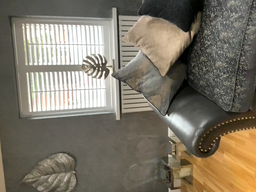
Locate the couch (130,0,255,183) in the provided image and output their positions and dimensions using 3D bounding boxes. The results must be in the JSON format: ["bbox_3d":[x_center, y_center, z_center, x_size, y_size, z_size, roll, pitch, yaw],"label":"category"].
[{"bbox_3d":[0.620,-0.440,1.690,1.180,0.800,1.640,-125,35,-61],"label":"couch"}]
